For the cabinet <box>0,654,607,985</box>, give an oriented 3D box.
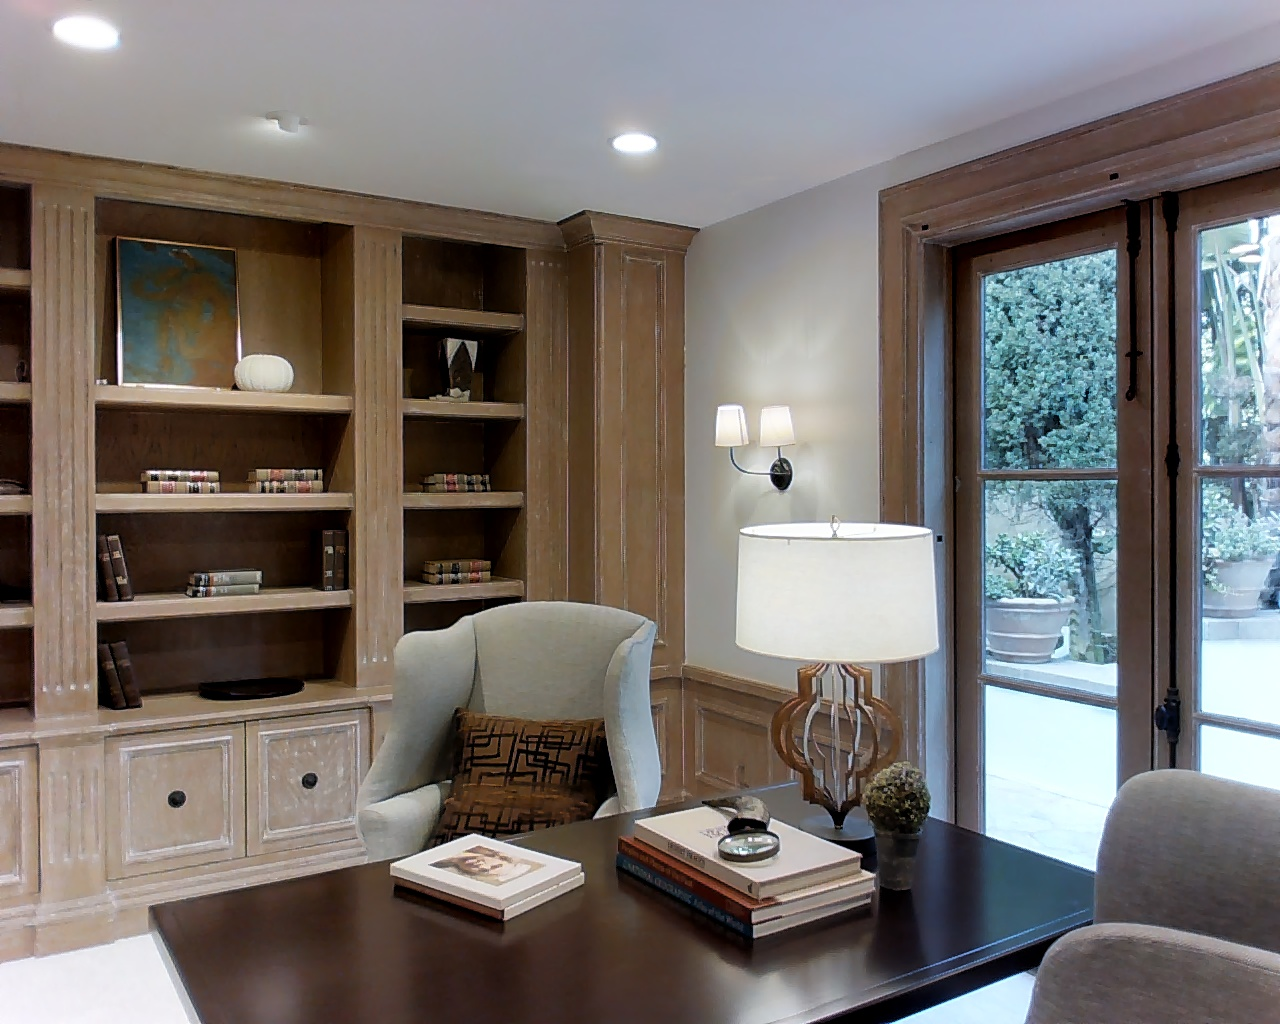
[{"bbox_3d":[-1.609,1.150,4.320,2.969,0.820,0.740,-1,1,-31],"label":"cabinet"}]
